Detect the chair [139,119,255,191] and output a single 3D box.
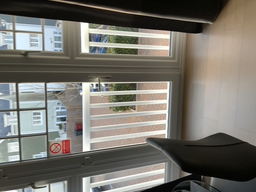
[{"bbox_3d":[0.620,0.490,1.190,0.420,1.030,0.560,-158,68,-65],"label":"chair"}]
